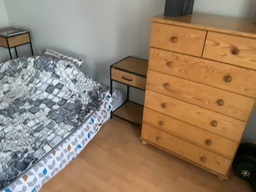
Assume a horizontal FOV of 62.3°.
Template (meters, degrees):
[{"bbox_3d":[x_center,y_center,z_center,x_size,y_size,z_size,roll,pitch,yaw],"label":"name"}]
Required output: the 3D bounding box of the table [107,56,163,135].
[{"bbox_3d":[0.060,-0.020,2.220,0.420,0.630,0.370,20,35,26],"label":"table"}]
